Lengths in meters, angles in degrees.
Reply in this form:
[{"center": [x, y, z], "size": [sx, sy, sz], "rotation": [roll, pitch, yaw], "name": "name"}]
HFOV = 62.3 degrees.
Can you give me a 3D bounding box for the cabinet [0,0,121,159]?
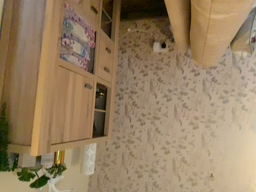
[{"center": [-0.410, -0.360, 1.630], "size": [0.330, 1.440, 1.070], "rotation": [2, 174, 15], "name": "cabinet"}]
